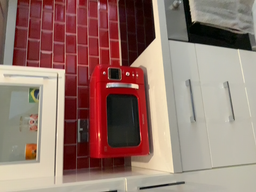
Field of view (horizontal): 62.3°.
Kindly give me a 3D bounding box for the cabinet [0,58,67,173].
[{"bbox_3d":[-0.740,0.110,1.040,0.380,0.810,0.500,147,122,-65],"label":"cabinet"}]
